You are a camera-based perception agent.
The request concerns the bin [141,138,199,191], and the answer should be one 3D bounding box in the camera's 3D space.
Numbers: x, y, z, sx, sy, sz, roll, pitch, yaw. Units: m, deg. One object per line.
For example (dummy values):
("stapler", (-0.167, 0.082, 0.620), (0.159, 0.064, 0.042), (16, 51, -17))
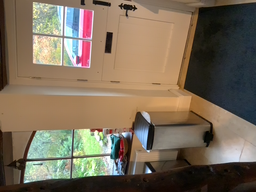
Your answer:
("bin", (0.470, 0.800, 2.460), (0.350, 0.490, 0.490), (-142, 56, -66))
